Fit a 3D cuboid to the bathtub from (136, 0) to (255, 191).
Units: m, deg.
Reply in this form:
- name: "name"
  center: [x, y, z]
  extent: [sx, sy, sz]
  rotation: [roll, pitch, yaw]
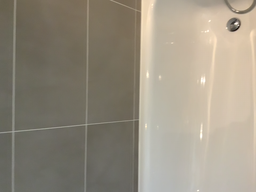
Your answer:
- name: "bathtub"
  center: [0.490, 0.130, 1.100]
  extent: [0.690, 0.560, 1.630]
  rotation: [2, 91, 48]
